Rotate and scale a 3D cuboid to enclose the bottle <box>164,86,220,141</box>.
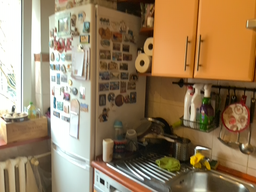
[{"bbox_3d":[0.430,0.100,1.440,0.180,0.300,0.290,-6,12,-44],"label":"bottle"}]
